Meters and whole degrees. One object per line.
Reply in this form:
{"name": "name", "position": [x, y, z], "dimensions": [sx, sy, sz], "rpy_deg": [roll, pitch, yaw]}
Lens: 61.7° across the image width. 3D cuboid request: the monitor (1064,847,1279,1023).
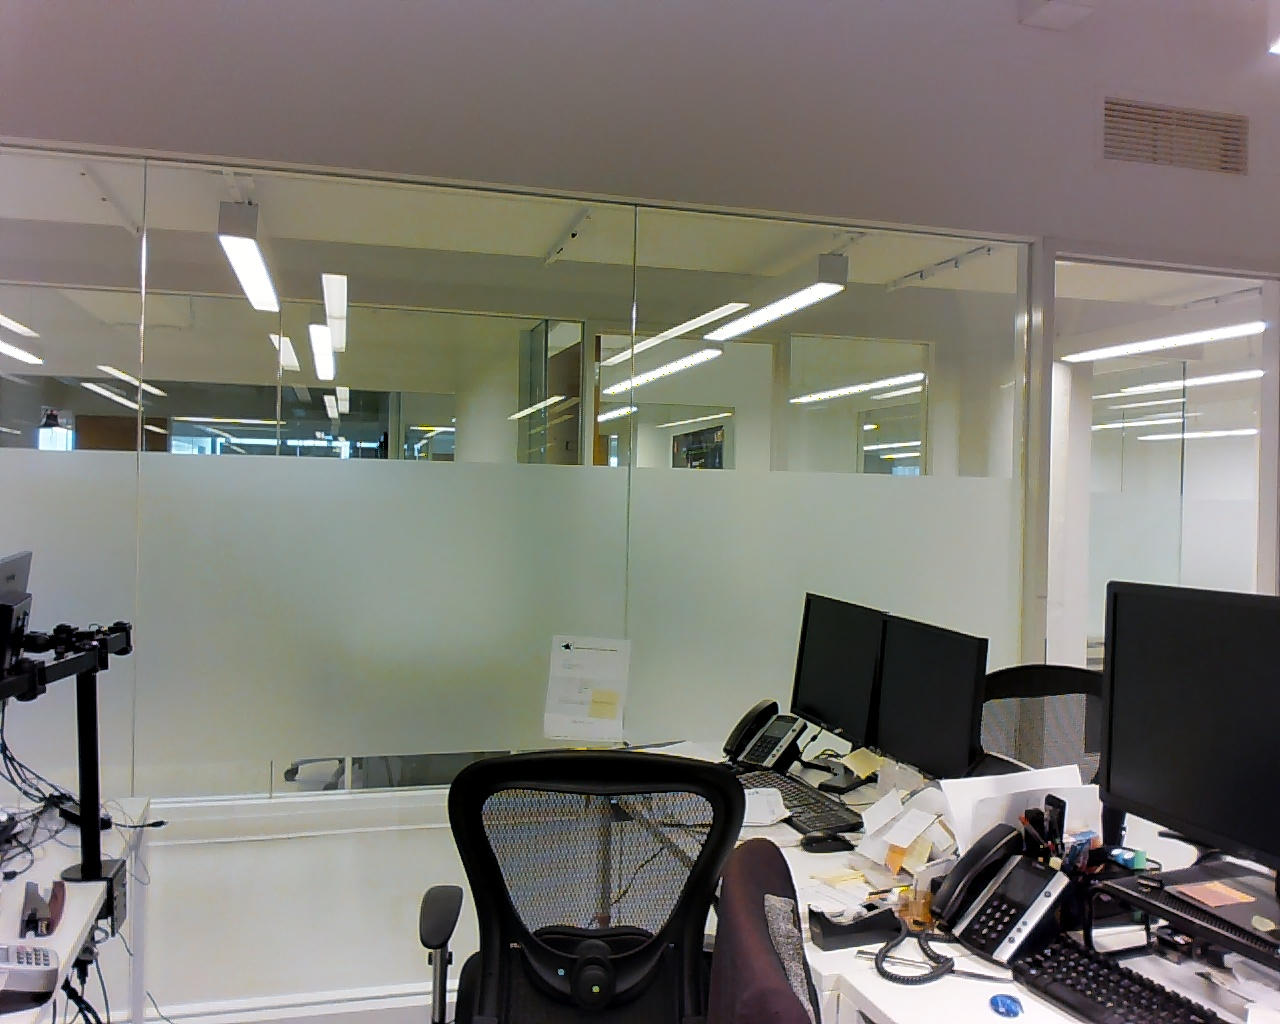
{"name": "monitor", "position": [0.930, 0.650, 1.500], "dimensions": [0.340, 0.160, 0.580], "rpy_deg": [1, 0, -16]}
